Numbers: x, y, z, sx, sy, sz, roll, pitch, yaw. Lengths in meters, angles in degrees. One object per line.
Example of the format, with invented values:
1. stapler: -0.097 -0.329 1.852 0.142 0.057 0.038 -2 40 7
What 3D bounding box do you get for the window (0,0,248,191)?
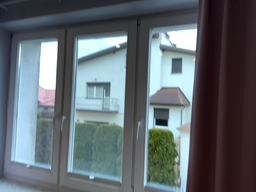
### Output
1. window: -0.320 0.060 1.770 2.250 1.470 0.320 2 -2 24
